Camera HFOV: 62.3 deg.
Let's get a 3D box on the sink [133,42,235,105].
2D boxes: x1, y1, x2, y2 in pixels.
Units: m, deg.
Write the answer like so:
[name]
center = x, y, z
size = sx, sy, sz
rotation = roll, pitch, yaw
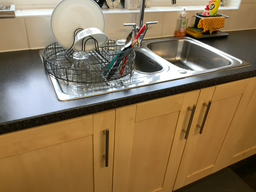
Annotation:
[sink]
center = 0.290, -0.160, 1.210
size = 0.340, 0.140, 0.440
rotation = -12, 36, -25
